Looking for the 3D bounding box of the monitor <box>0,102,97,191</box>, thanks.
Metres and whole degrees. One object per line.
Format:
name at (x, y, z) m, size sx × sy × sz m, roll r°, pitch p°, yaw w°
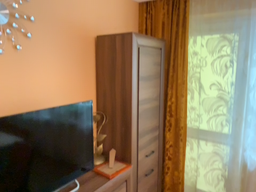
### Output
monitor at (-0.520, 0.370, 1.250) m, size 0.060 × 0.550 × 0.920 m, roll 7°, pitch 10°, yaw 34°
